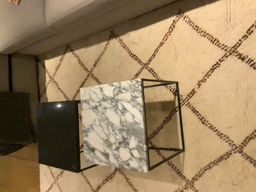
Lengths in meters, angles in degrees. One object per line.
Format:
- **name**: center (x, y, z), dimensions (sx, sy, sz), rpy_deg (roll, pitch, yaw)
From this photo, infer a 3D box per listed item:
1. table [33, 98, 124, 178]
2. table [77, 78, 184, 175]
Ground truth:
- **table**: center (-0.330, 0.240, 1.440), dimensions (0.420, 0.410, 0.420), rpy_deg (-4, 89, 37)
- **table**: center (0.020, 0.140, 1.180), dimensions (0.410, 0.400, 0.410), rpy_deg (-6, 88, 37)
